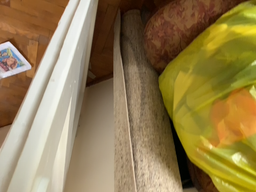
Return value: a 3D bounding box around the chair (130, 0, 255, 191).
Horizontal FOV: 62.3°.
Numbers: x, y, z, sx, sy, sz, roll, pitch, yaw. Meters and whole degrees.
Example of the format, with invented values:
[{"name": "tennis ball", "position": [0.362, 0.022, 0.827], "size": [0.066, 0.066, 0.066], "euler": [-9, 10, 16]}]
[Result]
[{"name": "chair", "position": [0.290, -0.110, 0.780], "size": [0.400, 0.860, 0.500], "euler": [-16, 134, 16]}]
